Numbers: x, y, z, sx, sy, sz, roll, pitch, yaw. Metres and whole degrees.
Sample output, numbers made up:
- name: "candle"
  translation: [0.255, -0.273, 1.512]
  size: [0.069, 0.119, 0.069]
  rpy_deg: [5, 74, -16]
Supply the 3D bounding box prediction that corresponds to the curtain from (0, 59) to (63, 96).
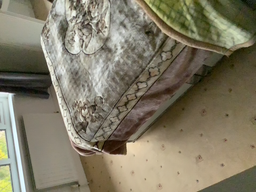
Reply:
- name: "curtain"
  translation: [-1.940, -0.280, 2.880]
  size: [0.280, 2.020, 0.410]
  rpy_deg: [-49, 54, 34]
